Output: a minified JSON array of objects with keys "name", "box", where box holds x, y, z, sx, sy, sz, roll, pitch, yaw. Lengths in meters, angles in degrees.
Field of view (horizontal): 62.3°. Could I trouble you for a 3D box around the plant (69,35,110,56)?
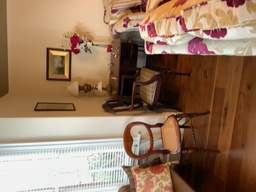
[{"name":"plant","box":[-0.610,-0.790,3.360,0.230,0.610,0.260,-145,58,-70]}]
